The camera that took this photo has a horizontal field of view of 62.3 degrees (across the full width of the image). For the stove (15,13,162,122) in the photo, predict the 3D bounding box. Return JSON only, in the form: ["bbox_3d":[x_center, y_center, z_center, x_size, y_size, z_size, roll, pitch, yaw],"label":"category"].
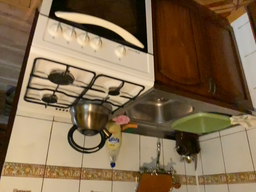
[{"bbox_3d":[-0.230,-0.060,1.070,0.540,0.160,0.590,14,153,-27],"label":"stove"}]
